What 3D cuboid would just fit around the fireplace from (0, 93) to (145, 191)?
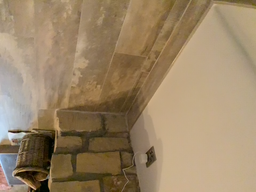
[{"bbox_3d":[-0.870,1.140,2.190,1.170,0.960,2.510,5,142,-20],"label":"fireplace"}]
